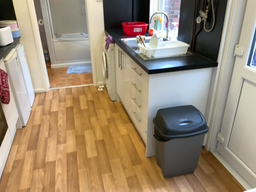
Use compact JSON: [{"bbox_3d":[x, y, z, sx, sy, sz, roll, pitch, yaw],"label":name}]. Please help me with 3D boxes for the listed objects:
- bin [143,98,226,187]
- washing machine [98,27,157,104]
[{"bbox_3d":[0.460,0.390,1.870,0.540,0.590,0.340,-9,28,-17],"label":"bin"},{"bbox_3d":[-0.040,-0.510,3.300,0.690,0.950,0.720,-8,28,-15],"label":"washing machine"}]
